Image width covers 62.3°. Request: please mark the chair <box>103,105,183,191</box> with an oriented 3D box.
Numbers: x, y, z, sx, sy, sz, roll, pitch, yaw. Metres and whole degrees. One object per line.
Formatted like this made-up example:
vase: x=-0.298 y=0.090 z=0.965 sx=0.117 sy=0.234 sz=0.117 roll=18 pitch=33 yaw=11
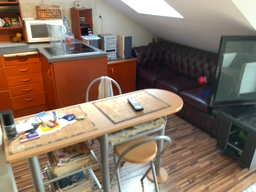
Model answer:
chair: x=0.070 y=0.510 z=1.500 sx=0.330 sy=0.740 sz=0.420 roll=-12 pitch=28 yaw=-27
